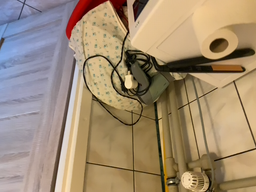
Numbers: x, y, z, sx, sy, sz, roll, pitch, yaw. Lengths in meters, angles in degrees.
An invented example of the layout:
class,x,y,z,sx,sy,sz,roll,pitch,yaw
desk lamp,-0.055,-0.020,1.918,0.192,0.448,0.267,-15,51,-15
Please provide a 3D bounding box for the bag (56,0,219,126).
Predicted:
class,x,y,z,sx,sy,sz,roll,pitch,yaw
bag,0.030,-0.110,0.830,0.470,0.240,0.360,20,143,-29
